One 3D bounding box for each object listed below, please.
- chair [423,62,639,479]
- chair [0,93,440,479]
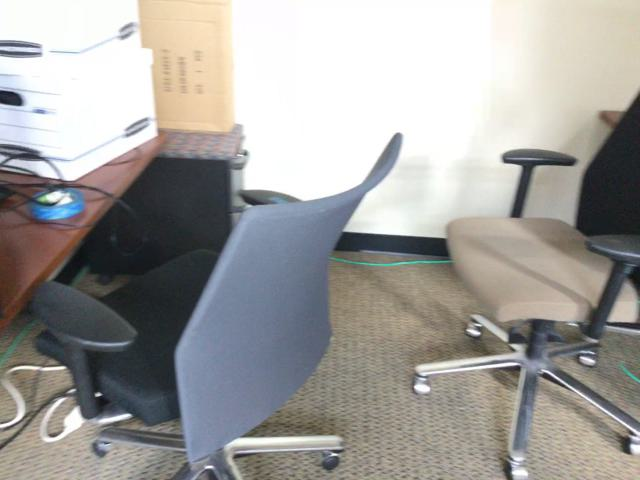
[{"bbox_3d":[0.680,0.080,1.600,0.690,1.000,0.640,-1,25,4],"label":"chair"},{"bbox_3d":[-0.260,0.240,1.290,0.860,0.970,0.680,8,27,24],"label":"chair"}]
